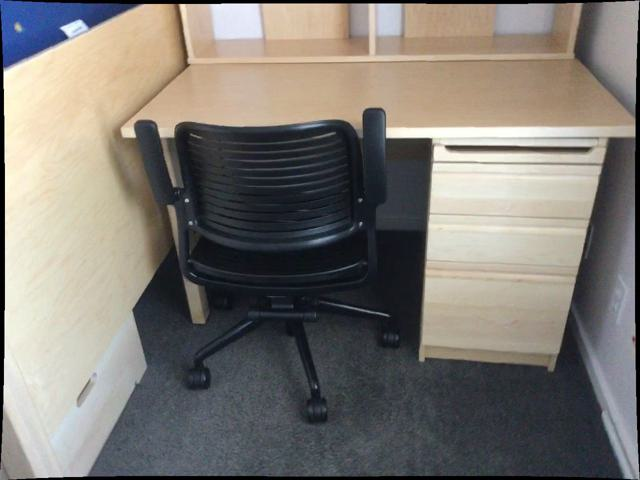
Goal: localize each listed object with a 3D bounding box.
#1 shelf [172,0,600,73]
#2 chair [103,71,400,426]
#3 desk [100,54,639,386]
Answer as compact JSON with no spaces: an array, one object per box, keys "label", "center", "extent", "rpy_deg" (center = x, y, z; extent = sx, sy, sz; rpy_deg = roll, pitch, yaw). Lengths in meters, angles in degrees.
[{"label":"shelf","center":[0.180,-0.952,1.730],"extent":[1.258,0.801,0.300],"rpy_deg":[1,32,6]},{"label":"chair","center":[-0.110,0.010,1.610],"extent":[0.609,0.821,0.490],"rpy_deg":[3,32,9]},{"label":"desk","center":[0.160,-0.090,1.780],"extent":[1.288,0.781,0.620],"rpy_deg":[1,32,6]}]
